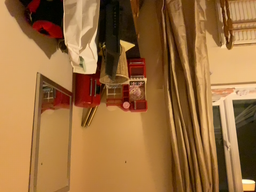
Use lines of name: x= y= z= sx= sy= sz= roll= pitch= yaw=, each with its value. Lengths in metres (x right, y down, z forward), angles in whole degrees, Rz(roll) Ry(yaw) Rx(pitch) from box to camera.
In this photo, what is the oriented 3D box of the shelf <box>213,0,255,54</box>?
shelf: x=1.130 y=-0.750 z=1.780 sx=0.710 sy=0.700 sz=0.190 roll=-3 pitch=167 yaw=10
